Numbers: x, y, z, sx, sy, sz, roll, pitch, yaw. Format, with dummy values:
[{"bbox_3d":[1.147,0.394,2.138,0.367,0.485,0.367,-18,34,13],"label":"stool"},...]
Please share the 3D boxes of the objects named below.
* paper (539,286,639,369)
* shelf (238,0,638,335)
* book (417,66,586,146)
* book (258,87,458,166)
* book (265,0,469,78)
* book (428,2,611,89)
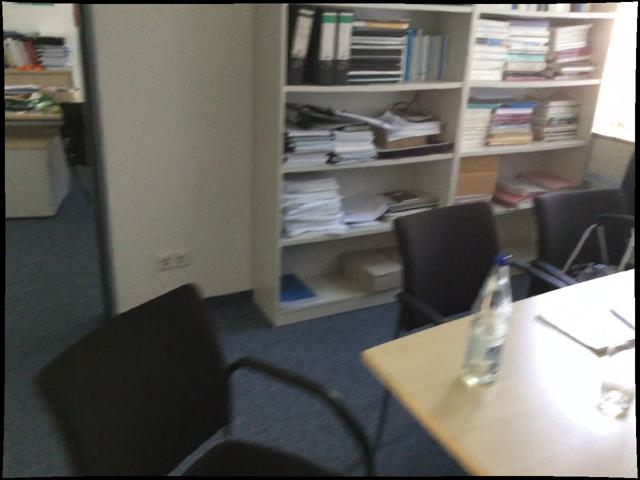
[{"bbox_3d":[0.749,0.210,1.460,0.260,0.030,0.260,-10,25,-25],"label":"paper"},{"bbox_3d":[0.629,-0.831,2.900,1.978,2.212,0.520,-10,26,-25],"label":"shelf"},{"bbox_3d":[0.989,-0.751,3.160,0.849,0.320,0.340,-10,26,-25],"label":"book"},{"bbox_3d":[0.190,-0.571,2.800,0.919,0.250,0.320,-10,26,-25],"label":"book"},{"bbox_3d":[0.220,-0.971,2.680,0.889,0.350,0.320,-10,26,-25],"label":"book"},{"bbox_3d":[1.049,-1.031,3.030,0.949,0.380,0.270,-10,26,-25],"label":"book"}]
